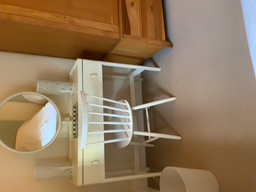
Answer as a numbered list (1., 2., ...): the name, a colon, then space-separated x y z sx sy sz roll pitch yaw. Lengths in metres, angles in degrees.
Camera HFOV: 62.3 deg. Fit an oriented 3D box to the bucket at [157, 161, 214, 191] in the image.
1. bucket: 0.390 0.590 1.460 0.210 0.290 0.240 150 119 -60
